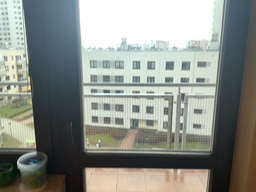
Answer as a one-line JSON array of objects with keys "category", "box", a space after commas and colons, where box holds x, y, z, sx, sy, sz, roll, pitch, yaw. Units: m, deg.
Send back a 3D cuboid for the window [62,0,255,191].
[{"category": "window", "box": [0.120, 0.180, 1.070, 0.770, 2.390, 0.230, 0, 13, -5]}]
